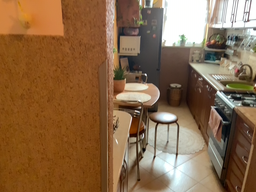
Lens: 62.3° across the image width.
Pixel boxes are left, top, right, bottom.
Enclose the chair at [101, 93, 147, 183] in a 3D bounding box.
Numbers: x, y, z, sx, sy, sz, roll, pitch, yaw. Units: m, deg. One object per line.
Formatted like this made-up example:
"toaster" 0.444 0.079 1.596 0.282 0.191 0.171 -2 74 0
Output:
"chair" -0.030 0.420 2.230 0.400 0.780 0.440 3 18 6
